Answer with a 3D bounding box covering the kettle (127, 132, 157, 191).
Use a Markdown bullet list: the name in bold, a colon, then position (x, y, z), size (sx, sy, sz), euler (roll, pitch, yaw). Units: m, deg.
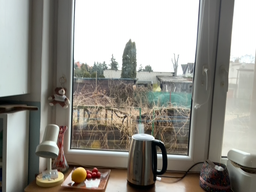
- **kettle**: position (0.070, 0.350, 1.080), size (0.130, 0.300, 0.140), euler (4, 5, 4)
